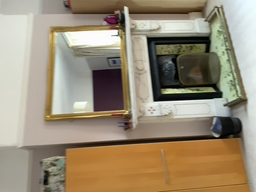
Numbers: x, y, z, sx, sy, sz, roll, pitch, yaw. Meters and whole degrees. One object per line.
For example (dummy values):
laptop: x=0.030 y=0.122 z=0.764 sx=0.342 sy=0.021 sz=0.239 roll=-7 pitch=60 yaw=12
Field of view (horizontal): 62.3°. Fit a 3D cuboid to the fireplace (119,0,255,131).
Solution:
fireplace: x=0.620 y=-0.480 z=2.820 sx=0.720 sy=1.330 sz=1.680 roll=106 pitch=160 yaw=-70
